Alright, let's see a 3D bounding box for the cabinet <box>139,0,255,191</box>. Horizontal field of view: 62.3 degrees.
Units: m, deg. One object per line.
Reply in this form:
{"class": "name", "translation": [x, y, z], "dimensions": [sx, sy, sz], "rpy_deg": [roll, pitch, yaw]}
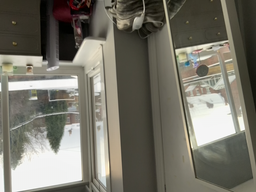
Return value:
{"class": "cabinet", "translation": [0.460, -0.140, 1.280], "dimensions": [0.390, 2.070, 0.780], "rpy_deg": [-2, 177, -25]}

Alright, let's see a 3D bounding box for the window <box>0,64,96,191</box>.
{"class": "window", "translation": [-1.660, 0.410, 2.080], "dimensions": [2.580, 1.410, 0.340], "rpy_deg": [-2, 177, -24]}
